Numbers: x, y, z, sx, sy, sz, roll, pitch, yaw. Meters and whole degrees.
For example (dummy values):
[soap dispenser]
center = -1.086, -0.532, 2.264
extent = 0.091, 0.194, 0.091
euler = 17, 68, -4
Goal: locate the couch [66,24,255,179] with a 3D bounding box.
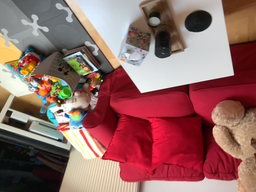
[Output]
[couch]
center = 0.490, 0.190, 1.870
extent = 1.560, 0.770, 1.010
euler = -10, 142, 24

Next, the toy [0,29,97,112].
[toy]
center = -0.760, -0.210, 2.000
extent = 0.740, 0.520, 0.400
euler = -9, 142, 23

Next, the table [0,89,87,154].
[table]
center = -1.100, 0.350, 2.720
extent = 1.030, 0.460, 0.270
euler = 23, 143, -21
